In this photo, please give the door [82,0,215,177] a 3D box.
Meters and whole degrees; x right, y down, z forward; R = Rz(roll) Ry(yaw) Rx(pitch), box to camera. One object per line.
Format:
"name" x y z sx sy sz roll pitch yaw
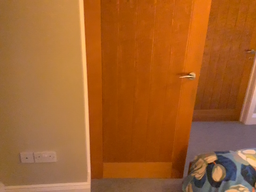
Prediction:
"door" 0.110 -0.170 1.560 0.850 1.910 0.050 2 22 -3
